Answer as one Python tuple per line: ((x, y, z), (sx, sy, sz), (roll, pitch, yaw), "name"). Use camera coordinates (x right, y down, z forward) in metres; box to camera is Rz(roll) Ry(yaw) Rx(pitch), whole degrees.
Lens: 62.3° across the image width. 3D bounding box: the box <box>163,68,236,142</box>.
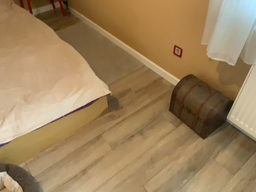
((0.510, 0.060, 1.600), (0.280, 0.320, 0.370), (-32, 54, -26), "box")
